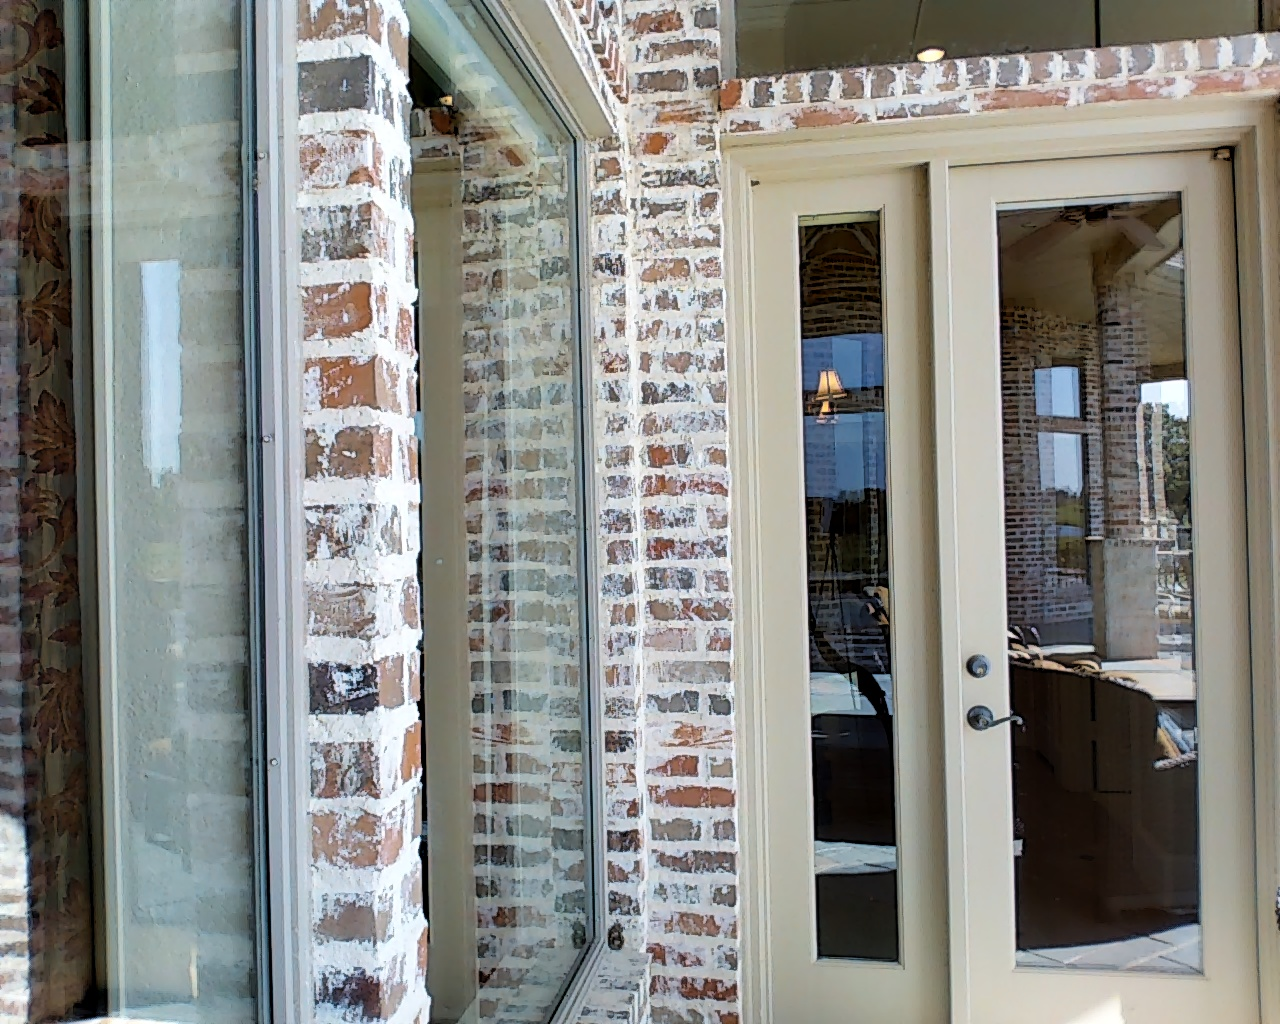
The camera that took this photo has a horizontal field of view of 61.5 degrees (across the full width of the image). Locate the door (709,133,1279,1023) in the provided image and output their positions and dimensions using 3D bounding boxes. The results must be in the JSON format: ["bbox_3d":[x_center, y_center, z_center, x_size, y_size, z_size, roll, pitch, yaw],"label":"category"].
[{"bbox_3d":[0.980,0.420,2.970,1.480,2.711,0.330,-2,-2,10],"label":"door"}]

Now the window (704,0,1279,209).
[{"bbox_3d":[0.930,-1.240,2.930,1.460,0.580,0.460,-2,-2,10],"label":"window"}]
